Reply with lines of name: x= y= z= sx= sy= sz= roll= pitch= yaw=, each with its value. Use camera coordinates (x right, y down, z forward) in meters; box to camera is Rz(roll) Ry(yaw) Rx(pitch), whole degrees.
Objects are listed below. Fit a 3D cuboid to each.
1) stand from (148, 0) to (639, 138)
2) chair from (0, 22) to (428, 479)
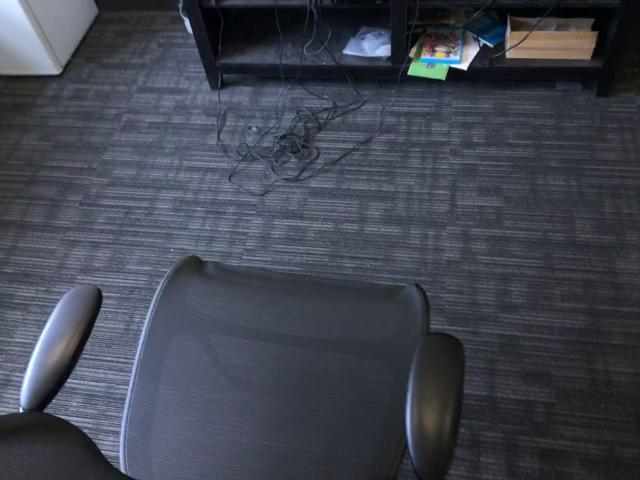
stand: x=0.260 y=-0.820 z=1.870 sx=1.480 sy=0.750 sz=0.470 roll=-1 pitch=52 yaw=16
chair: x=-0.220 y=0.210 z=0.780 sx=0.640 sy=0.570 sz=0.740 roll=-1 pitch=52 yaw=16
